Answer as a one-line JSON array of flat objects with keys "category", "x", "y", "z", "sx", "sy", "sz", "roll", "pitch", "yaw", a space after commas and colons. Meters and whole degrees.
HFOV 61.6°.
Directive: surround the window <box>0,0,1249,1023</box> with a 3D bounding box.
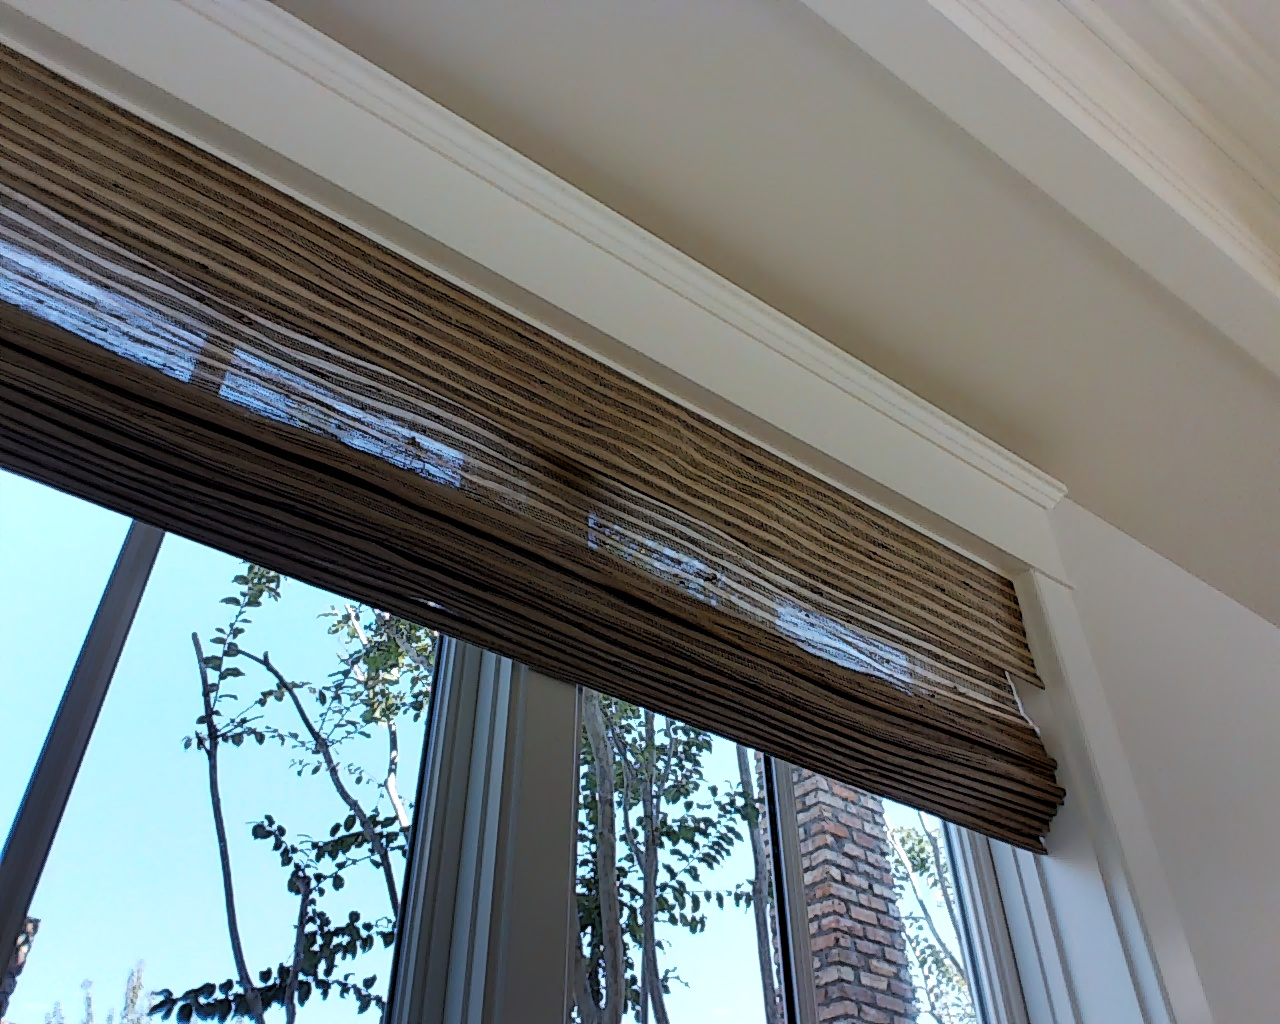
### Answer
[{"category": "window", "x": -0.060, "y": 0.550, "z": 0.730, "sx": 1.589, "sy": 1.911, "sz": 0.270, "roll": 25, "pitch": -47, "yaw": -26}]
